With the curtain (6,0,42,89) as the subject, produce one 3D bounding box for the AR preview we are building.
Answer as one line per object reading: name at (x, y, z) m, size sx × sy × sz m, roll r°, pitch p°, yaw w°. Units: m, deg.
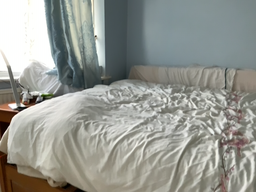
curtain at (-1.090, -0.840, 2.190) m, size 0.220 × 1.510 × 0.170 m, roll 5°, pitch 13°, yaw 18°
